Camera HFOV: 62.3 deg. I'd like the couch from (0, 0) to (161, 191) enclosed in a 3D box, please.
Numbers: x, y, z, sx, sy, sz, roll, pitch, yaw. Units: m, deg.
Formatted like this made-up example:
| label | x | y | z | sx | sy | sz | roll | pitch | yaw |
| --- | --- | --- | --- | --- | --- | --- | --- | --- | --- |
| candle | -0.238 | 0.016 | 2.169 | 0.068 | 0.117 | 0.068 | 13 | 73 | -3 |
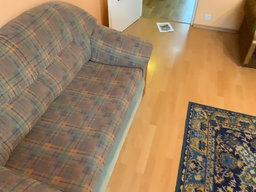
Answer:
| label | x | y | z | sx | sy | sz | roll | pitch | yaw |
| --- | --- | --- | --- | --- | --- | --- | --- | --- | --- |
| couch | -0.450 | 0.020 | 1.480 | 0.940 | 0.870 | 1.690 | 14 | 46 | 11 |
